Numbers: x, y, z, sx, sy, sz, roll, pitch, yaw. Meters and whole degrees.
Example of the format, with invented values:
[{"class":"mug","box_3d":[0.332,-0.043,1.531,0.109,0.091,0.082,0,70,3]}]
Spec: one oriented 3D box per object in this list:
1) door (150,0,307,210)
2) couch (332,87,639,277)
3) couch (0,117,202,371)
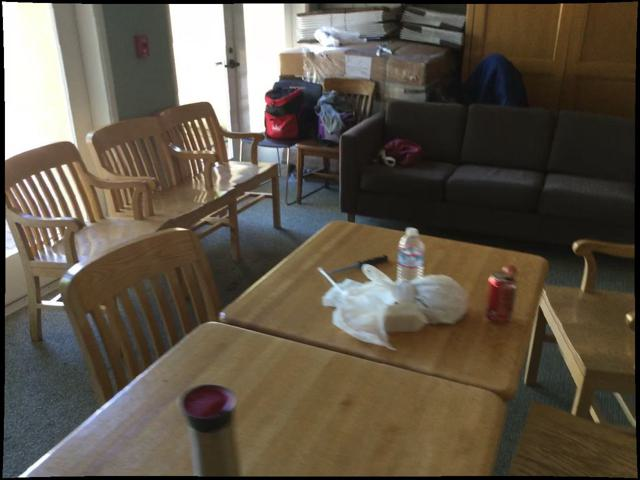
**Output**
[{"class":"door","box_3d":[-0.579,-1.381,4.350,0.170,1.811,1.720,11,28,23]},{"class":"couch","box_3d":[1.139,-0.450,3.640,1.928,0.731,0.900,11,28,23]},{"class":"couch","box_3d":[-1.109,-0.040,2.690,0.729,0.841,0.740,11,28,23]}]
